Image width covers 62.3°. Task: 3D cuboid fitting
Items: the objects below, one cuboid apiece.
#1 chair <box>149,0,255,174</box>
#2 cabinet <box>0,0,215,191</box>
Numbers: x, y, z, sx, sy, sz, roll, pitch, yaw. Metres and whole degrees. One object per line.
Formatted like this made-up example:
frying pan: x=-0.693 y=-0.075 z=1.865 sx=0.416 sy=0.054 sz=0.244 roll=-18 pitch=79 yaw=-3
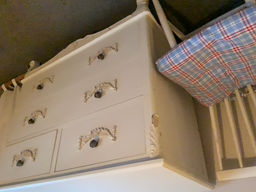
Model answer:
chair: x=0.430 y=-0.150 z=0.880 sx=0.400 sy=0.780 sz=0.540 roll=-25 pitch=142 yaw=34
cabinet: x=-0.160 y=0.070 z=1.180 sx=0.950 sy=0.840 sz=0.540 roll=-18 pitch=146 yaw=26
